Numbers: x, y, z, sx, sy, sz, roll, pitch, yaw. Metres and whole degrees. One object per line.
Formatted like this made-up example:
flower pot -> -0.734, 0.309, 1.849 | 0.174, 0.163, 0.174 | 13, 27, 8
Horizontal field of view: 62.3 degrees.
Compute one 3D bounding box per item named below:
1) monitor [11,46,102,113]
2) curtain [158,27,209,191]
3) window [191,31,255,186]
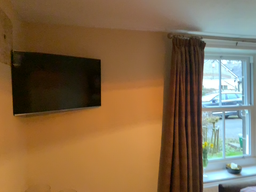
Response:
monitor -> -0.630, -0.130, 2.070 | 0.060, 0.540, 0.920 | 2, 1, 42
curtain -> 0.670, 0.400, 2.580 | 0.480, 2.320, 0.350 | -1, 2, -16
window -> 1.590, 0.150, 2.950 | 1.360, 1.910, 0.360 | -1, 2, -14
